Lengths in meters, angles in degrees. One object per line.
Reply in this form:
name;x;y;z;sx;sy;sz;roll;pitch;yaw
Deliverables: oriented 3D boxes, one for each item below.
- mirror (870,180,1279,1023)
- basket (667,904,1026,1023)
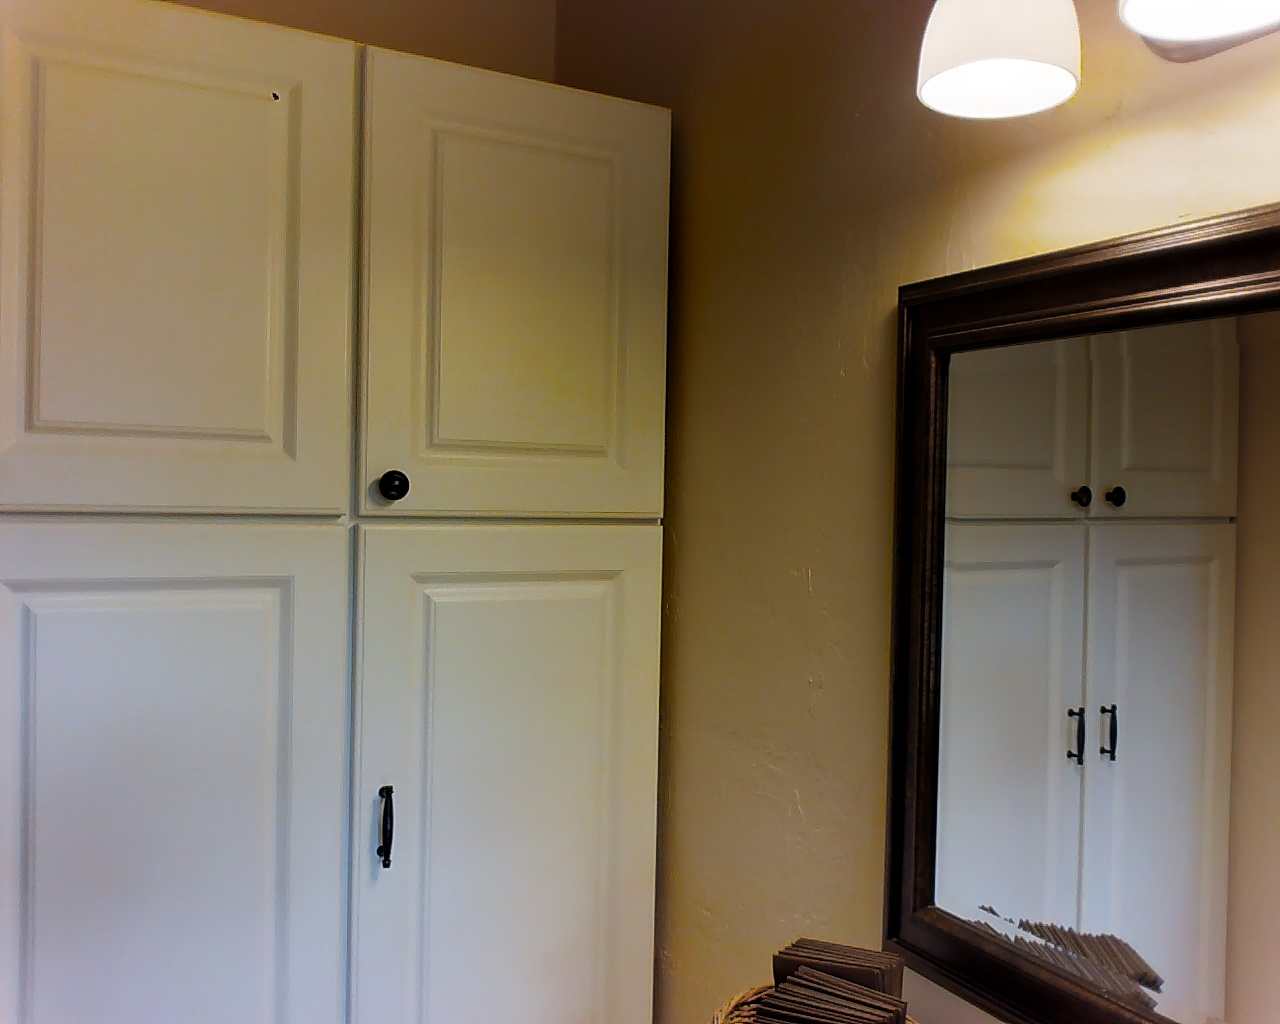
mirror;0.480;0.130;0.760;0.050;0.730;0.860;1;1;-29
basket;0.190;0.540;1.030;0.260;0.220;0.210;2;1;-28
